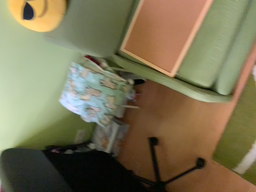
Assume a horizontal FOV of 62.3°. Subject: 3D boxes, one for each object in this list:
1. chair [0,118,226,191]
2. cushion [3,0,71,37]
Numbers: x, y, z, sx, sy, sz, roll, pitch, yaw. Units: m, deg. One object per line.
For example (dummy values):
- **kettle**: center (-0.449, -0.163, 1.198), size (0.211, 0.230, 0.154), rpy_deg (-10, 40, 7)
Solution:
- **chair**: center (-0.120, 0.600, 1.120), size (0.690, 1.060, 0.710), rpy_deg (28, 105, 38)
- **cushion**: center (-0.450, -0.480, 1.070), size (0.200, 0.220, 0.270), rpy_deg (30, 107, 38)
